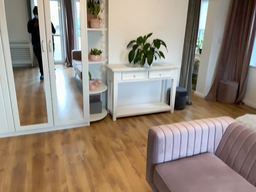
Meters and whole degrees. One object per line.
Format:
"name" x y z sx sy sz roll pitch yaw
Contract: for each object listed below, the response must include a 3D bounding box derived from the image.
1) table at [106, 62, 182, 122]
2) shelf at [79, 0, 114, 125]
"table" 0.250 -0.110 3.690 1.200 0.870 0.430 -5 21 -21
"shelf" -0.480 -0.800 3.210 0.370 2.430 0.560 -5 21 -21
